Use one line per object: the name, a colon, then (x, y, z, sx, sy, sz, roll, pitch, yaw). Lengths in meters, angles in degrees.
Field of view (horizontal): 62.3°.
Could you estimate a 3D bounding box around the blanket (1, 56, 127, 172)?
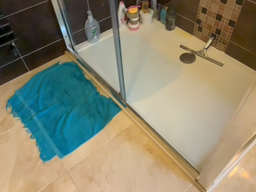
blanket: (-0.440, 0.040, 1.380, 0.540, 0.010, 0.730, -32, 56, -21)
